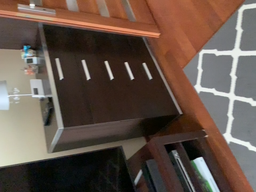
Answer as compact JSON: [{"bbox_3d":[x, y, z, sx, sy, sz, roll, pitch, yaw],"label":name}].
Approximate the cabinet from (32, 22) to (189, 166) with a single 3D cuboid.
[{"bbox_3d":[-0.220,-0.030,1.900,0.630,1.030,0.910,-54,48,45],"label":"cabinet"}]
